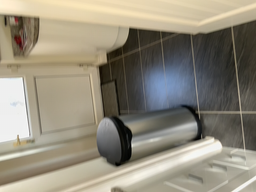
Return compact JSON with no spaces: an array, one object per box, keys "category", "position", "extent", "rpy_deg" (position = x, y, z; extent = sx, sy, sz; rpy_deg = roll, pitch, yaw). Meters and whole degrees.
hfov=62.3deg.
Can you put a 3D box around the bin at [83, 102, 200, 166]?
[{"category":"bin","position":[0.110,0.220,1.470],"extent":[0.360,0.710,0.260],"rpy_deg":[-8,89,55]}]
